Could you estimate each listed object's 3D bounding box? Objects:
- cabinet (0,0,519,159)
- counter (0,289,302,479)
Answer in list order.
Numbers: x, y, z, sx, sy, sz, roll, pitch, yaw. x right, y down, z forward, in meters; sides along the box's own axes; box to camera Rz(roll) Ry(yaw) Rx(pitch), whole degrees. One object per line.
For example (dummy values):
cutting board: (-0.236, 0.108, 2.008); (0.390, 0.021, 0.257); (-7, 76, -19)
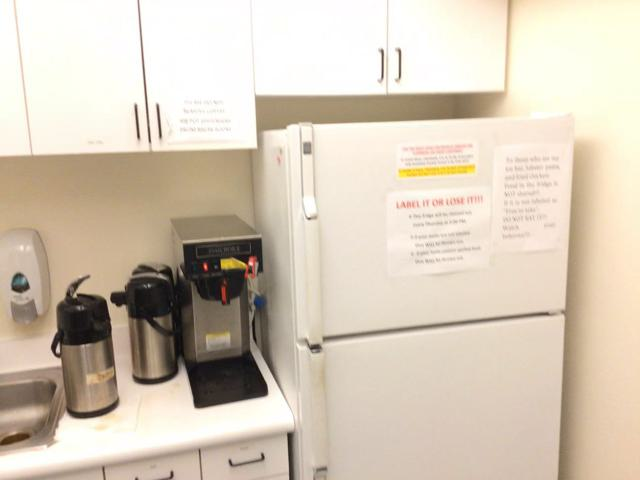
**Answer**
cabinet: (-0.650, -0.480, 1.490); (2.590, 0.520, 0.140); (-5, 11, -17)
counter: (-1.010, 0.440, 1.570); (1.800, 0.260, 0.670); (-5, 11, -17)
